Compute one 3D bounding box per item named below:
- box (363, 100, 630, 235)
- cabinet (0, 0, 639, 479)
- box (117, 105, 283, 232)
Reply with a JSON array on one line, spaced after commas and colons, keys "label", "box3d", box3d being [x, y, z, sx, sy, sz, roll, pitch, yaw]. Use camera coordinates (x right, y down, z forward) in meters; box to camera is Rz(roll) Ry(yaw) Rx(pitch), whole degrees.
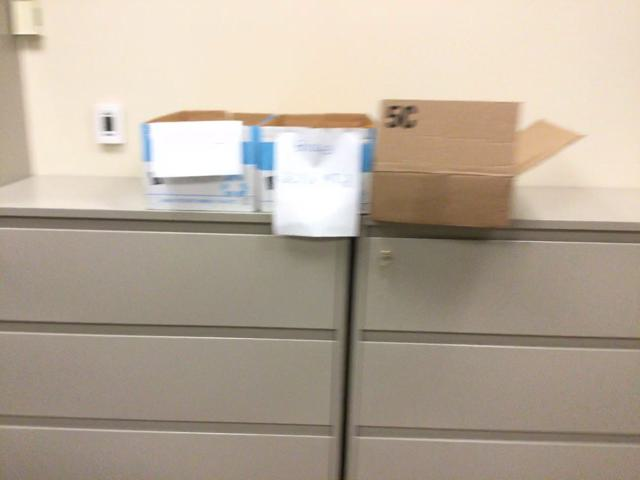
[{"label": "box", "box3d": [0.410, -0.230, 1.590, 0.550, 0.300, 0.590, 0, 14, 2]}, {"label": "cabinet", "box3d": [-1.020, 0.040, 1.750, 4.390, 1.710, 0.680, 1, 14, 2]}, {"label": "box", "box3d": [-0.310, -0.230, 1.680, 0.360, 0.310, 0.480, 0, 14, 2]}]
